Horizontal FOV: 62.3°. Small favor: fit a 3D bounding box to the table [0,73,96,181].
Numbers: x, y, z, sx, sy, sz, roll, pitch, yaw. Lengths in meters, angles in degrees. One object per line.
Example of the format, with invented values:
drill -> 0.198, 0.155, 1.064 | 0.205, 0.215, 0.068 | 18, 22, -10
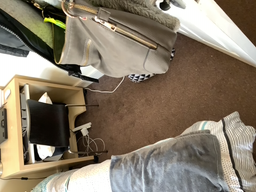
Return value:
table -> -0.850, 0.320, 2.120 | 0.560, 0.730, 0.820 | -28, 66, 37
